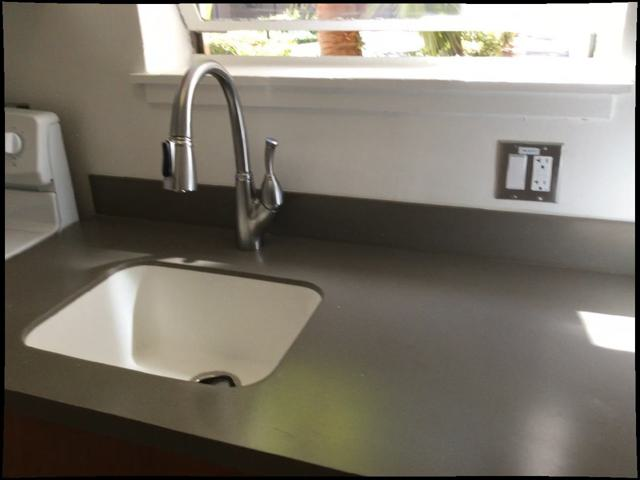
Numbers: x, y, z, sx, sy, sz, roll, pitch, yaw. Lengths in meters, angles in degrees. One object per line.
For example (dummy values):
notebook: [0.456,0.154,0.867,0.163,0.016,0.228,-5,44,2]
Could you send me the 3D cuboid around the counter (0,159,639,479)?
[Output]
counter: [-0.070,0.110,1.010,1.447,0.210,0.680,7,25,17]
